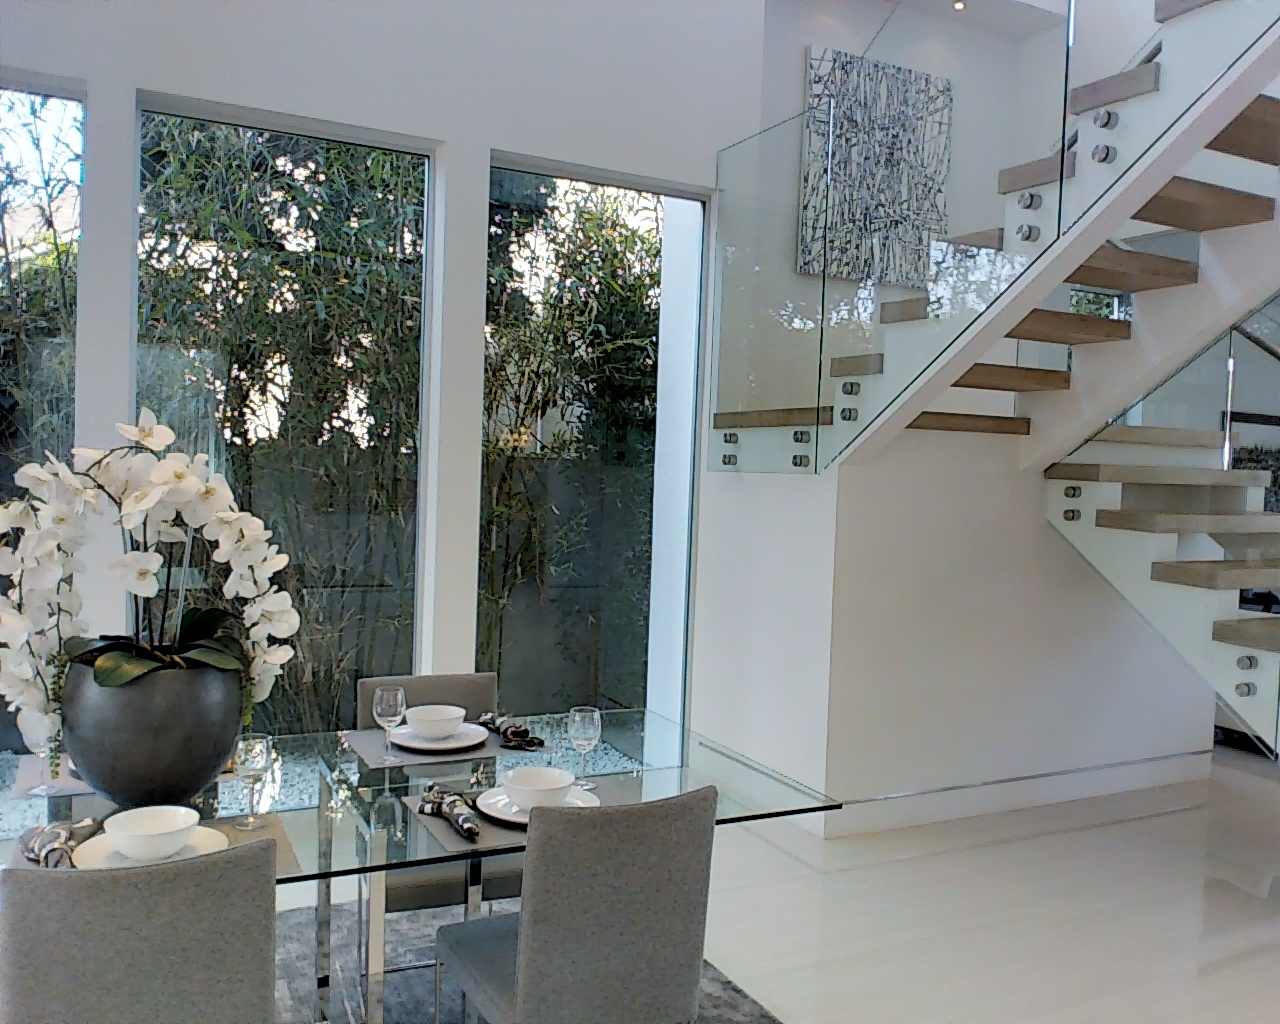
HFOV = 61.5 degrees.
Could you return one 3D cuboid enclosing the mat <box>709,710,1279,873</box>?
[{"bbox_3d":[2.139,1.341,5.440,3.279,0.080,2.300,2,3,-5],"label":"mat"}]
